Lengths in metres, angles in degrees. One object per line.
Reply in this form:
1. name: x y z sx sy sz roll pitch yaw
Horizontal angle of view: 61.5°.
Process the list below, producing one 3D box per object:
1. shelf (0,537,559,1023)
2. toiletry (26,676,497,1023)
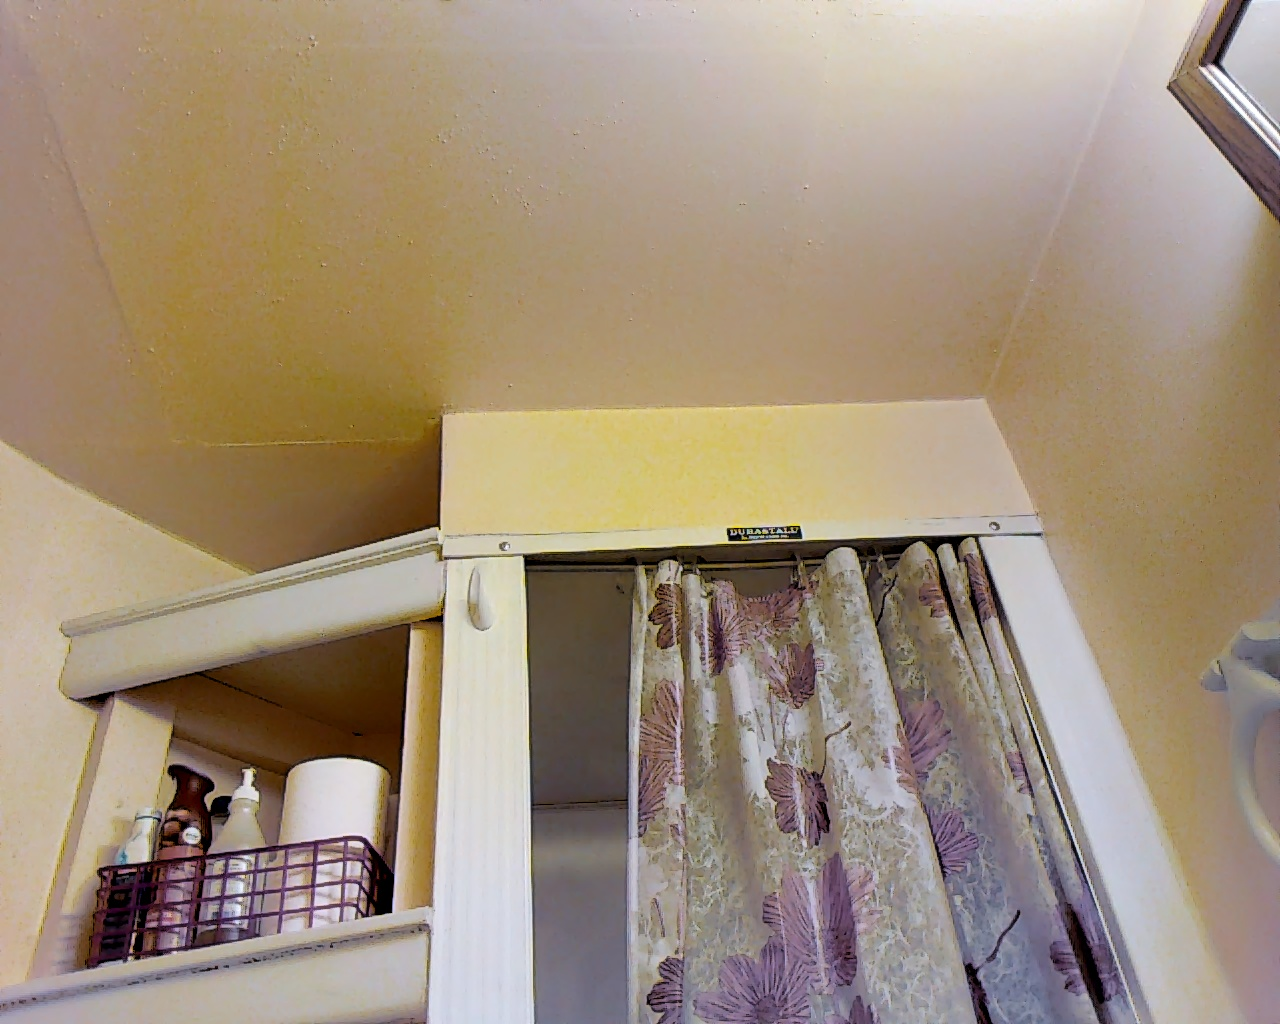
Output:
1. shelf: -0.420 0.640 1.260 0.500 1.040 0.500 -16 -42 11
2. toiletry: -0.440 0.490 1.380 0.390 0.330 0.370 -16 -42 11
